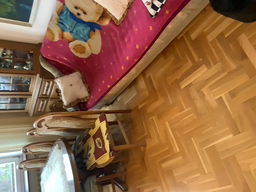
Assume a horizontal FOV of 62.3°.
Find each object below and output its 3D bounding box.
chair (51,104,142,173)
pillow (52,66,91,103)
[{"bbox_3d":[-0.360,0.450,2.390,0.450,0.800,0.570,-41,58,47],"label":"chair"},{"bbox_3d":[-0.700,-0.150,2.640,0.360,0.310,0.130,55,143,7],"label":"pillow"}]
